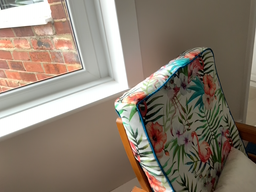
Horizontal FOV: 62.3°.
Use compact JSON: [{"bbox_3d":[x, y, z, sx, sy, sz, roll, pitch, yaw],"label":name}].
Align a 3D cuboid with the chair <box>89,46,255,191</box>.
[{"bbox_3d":[0.460,0.340,0.850,0.900,0.880,0.620,15,35,39],"label":"chair"}]
